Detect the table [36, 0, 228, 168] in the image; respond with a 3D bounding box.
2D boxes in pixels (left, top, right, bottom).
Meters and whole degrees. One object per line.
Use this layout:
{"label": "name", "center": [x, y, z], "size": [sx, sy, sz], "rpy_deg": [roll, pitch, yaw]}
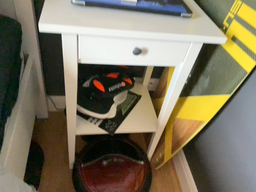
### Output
{"label": "table", "center": [-0.050, -0.050, 0.870], "size": [0.470, 0.690, 0.370], "rpy_deg": [2, 45, -12]}
